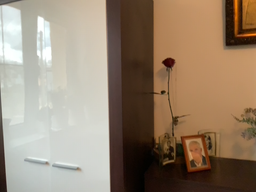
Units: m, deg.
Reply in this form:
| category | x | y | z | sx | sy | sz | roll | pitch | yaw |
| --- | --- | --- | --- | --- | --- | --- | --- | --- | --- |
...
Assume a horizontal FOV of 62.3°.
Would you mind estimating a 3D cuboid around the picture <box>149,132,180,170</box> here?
| category | x | y | z | sx | sy | sz | roll | pitch | yaw |
| --- | --- | --- | --- | --- | --- | --- | --- | --- | --- |
| picture | 0.240 | 0.340 | 1.360 | 0.140 | 0.150 | 0.250 | 1 | 5 | 22 |

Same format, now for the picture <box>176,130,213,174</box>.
| category | x | y | z | sx | sy | sz | roll | pitch | yaw |
| --- | --- | --- | --- | --- | --- | --- | --- | --- | --- |
| picture | 0.420 | 0.330 | 1.310 | 0.190 | 0.170 | 0.270 | 1 | 5 | 24 |
